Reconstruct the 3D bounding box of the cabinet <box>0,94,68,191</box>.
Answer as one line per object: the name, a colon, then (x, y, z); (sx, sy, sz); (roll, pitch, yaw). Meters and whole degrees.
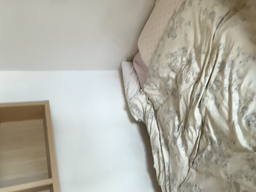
cabinet: (-0.700, 0.570, 1.490); (0.160, 0.480, 1.230); (-54, 46, 52)
